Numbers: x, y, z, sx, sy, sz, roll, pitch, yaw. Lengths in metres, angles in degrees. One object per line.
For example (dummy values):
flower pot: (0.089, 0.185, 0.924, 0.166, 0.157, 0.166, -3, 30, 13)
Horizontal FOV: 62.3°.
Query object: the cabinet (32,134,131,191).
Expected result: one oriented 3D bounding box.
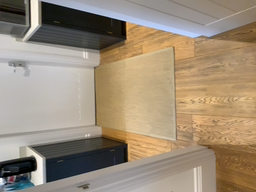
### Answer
cabinet: (-0.500, 0.840, 2.310, 0.580, 0.880, 0.660, -3, 89, 53)
